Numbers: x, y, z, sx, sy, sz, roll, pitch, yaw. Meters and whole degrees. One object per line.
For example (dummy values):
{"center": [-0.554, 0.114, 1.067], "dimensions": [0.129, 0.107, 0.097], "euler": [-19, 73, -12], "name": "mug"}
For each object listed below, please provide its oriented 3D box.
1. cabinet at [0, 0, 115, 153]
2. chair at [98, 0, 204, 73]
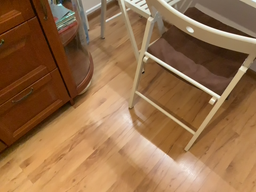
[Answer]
{"center": [-0.540, -0.310, 1.050], "dimensions": [0.580, 0.850, 0.730], "euler": [38, 64, 21], "name": "cabinet"}
{"center": [0.150, -0.660, 1.360], "dimensions": [0.520, 0.750, 0.470], "euler": [39, 64, 22], "name": "chair"}
